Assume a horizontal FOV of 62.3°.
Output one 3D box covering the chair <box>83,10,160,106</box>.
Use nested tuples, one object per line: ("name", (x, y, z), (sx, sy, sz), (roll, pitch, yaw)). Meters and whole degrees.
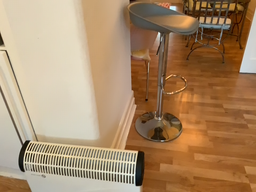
("chair", (-0.010, -0.390, 2.050), (0.580, 0.720, 0.600), (4, 33, 8))
